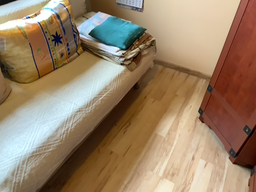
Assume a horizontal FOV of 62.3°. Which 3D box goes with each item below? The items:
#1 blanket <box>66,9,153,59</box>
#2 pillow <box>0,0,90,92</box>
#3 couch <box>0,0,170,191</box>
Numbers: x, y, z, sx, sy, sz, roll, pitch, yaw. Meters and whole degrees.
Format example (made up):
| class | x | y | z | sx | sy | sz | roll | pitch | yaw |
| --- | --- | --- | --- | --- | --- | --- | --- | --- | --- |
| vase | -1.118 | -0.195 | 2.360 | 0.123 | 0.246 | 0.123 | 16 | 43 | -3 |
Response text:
| class | x | y | z | sx | sy | sz | roll | pitch | yaw |
| --- | --- | --- | --- | --- | --- | --- | --- | --- | --- |
| blanket | -0.150 | -0.560 | 1.820 | 0.590 | 0.130 | 0.430 | 23 | 44 | 20 |
| pillow | -0.580 | -0.400 | 1.450 | 0.240 | 0.400 | 0.660 | 24 | 45 | 21 |
| couch | -0.610 | -0.100 | 1.430 | 0.950 | 0.790 | 2.090 | 23 | 44 | 20 |
